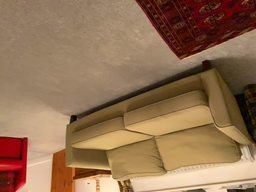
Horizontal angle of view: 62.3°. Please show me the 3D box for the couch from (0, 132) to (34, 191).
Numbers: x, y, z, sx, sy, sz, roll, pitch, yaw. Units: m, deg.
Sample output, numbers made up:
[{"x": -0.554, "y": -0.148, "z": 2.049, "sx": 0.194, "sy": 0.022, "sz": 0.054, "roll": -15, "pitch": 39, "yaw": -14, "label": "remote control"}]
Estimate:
[{"x": -1.810, "y": 1.010, "z": 3.100, "sx": 0.640, "sy": 0.780, "sz": 0.700, "roll": 9, "pitch": 151, "yaw": -28, "label": "couch"}]

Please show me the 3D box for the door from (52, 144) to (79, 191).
[{"x": -1.070, "y": 1.840, "z": 3.570, "sx": 0.630, "sy": 1.910, "sz": 0.080, "roll": -23, "pitch": 150, "yaw": 32, "label": "door"}]

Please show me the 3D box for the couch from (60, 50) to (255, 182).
[{"x": 0.260, "y": 0.420, "z": 2.320, "sx": 1.730, "sy": 0.770, "sz": 1.050, "roll": -22, "pitch": 150, "yaw": 31, "label": "couch"}]
